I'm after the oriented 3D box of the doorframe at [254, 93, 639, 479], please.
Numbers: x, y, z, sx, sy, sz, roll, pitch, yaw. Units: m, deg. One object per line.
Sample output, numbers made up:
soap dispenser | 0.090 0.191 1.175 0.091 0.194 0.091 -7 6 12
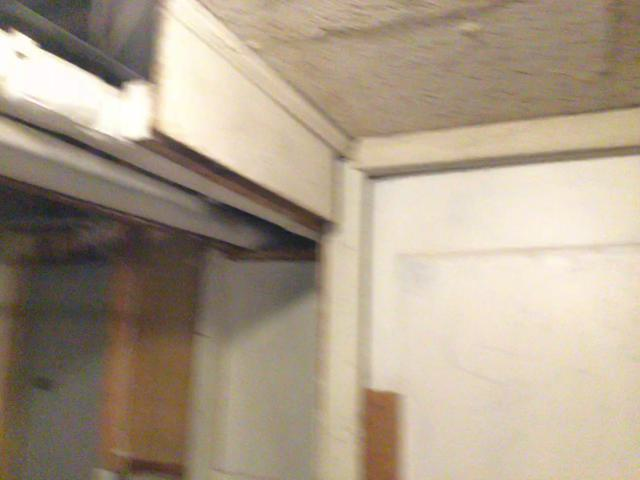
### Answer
doorframe | 0.380 0.770 1.100 1.070 2.090 0.190 -3 -12 21
